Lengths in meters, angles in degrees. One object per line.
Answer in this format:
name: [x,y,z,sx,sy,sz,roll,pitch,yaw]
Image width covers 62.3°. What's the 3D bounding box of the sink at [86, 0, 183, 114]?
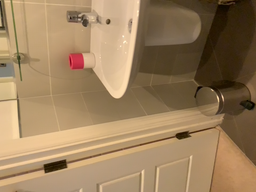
sink: [-0.020,-0.290,0.900,0.450,0.180,0.550,51,141,47]
